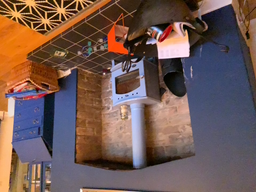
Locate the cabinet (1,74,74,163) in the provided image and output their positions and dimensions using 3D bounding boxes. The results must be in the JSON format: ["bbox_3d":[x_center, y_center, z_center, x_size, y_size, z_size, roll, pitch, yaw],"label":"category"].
[{"bbox_3d":[-1.210,0.350,2.870,0.830,1.000,0.500,-15,160,34],"label":"cabinet"}]

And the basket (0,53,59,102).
[{"bbox_3d":[-1.110,-0.170,2.350,0.550,0.320,0.400,-14,161,32],"label":"basket"}]
